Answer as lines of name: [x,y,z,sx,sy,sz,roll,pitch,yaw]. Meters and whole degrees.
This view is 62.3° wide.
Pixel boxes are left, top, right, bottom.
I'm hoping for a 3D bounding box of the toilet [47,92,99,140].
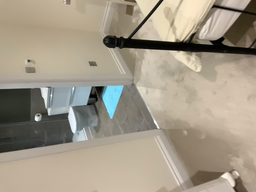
toilet: [-1.030,0.340,3.900,0.670,0.750,0.450,62,143,37]
